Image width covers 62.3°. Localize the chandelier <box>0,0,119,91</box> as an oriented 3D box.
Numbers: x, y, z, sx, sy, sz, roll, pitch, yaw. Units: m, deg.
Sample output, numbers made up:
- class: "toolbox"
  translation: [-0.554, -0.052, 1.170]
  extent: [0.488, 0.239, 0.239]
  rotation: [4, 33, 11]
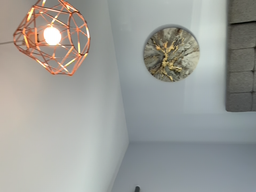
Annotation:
- class: "chandelier"
  translation: [-0.320, -0.340, 1.120]
  extent: [0.510, 0.360, 0.460]
  rotation: [-59, 144, -65]
